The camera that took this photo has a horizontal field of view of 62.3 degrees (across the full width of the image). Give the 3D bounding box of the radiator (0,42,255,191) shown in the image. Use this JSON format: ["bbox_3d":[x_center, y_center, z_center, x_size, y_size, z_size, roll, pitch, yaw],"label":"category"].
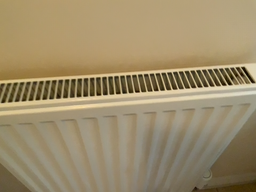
[{"bbox_3d":[-0.050,0.200,0.580,0.570,0.740,0.080,-5,50,-6],"label":"radiator"}]
